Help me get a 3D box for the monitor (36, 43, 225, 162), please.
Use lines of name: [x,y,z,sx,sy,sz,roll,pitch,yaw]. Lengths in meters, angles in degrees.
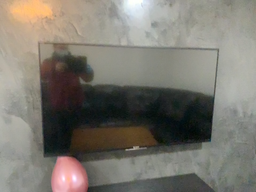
monitor: [0.070,0.030,1.300,1.140,0.650,0.030,-2,10,-15]
